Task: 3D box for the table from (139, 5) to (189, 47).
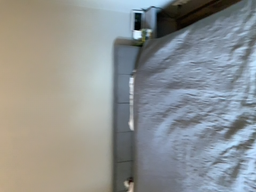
[{"bbox_3d":[0.360,-0.680,2.110,0.200,0.450,0.300,-178,88,-67],"label":"table"}]
